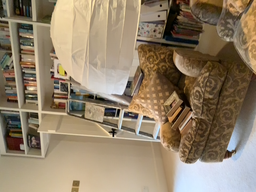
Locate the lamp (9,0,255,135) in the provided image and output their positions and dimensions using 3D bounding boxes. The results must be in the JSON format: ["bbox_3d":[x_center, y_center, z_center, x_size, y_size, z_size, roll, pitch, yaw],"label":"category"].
[{"bbox_3d":[0.270,-0.310,1.290,0.730,1.500,0.700,106,167,-48],"label":"lamp"}]
